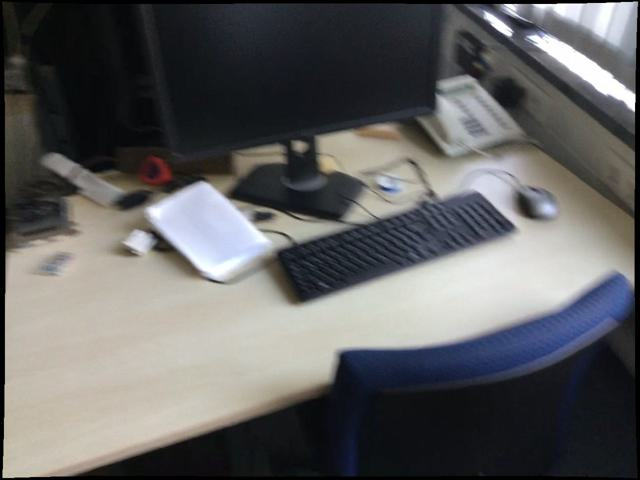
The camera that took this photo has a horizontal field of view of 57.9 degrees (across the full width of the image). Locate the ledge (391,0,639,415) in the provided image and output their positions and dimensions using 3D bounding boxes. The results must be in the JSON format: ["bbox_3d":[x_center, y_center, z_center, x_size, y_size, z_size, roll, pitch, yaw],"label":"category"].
[{"bbox_3d":[0.589,-0.290,1.540,0.190,0.400,2.691,-8,39,-3],"label":"ledge"}]
